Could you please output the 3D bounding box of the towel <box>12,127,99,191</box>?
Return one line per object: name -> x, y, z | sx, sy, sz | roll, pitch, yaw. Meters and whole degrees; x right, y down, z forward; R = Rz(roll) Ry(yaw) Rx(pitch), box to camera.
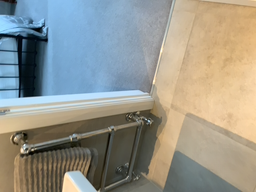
towel -> -0.370, 0.430, 1.060 | 0.160, 0.340, 0.480 | 30, 115, 42
